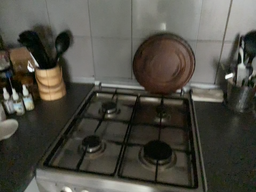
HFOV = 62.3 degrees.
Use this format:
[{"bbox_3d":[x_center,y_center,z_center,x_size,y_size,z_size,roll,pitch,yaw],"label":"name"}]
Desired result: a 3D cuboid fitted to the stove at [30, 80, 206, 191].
[{"bbox_3d":[0.010,0.160,0.890,0.500,0.180,0.600,5,30,9],"label":"stove"}]
